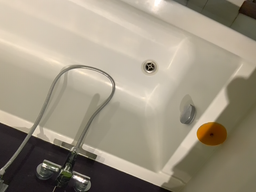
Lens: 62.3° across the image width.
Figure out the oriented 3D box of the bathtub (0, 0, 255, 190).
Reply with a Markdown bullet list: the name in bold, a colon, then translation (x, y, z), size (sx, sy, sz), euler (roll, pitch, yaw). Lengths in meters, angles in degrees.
- **bathtub**: translation (-0.390, -0.310, 0.960), size (1.670, 0.590, 0.690), euler (23, 119, -6)
